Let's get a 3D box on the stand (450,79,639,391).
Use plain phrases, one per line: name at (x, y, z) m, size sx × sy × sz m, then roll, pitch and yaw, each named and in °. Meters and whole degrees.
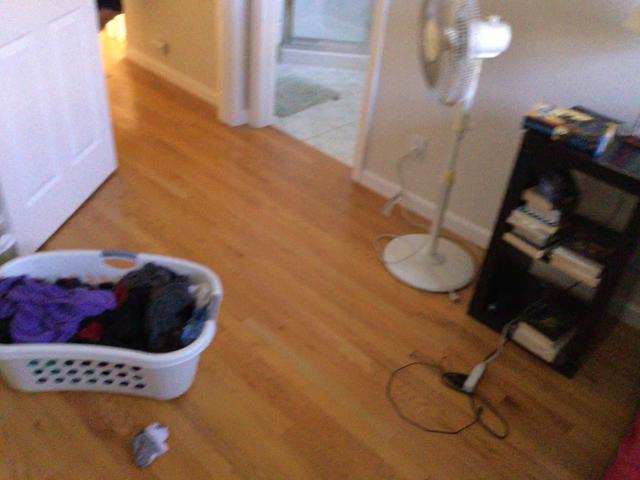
stand at (0.900, -0.030, 2.020) m, size 0.500 × 0.840 × 0.500 m, roll 33°, pitch 42°, yaw 31°
